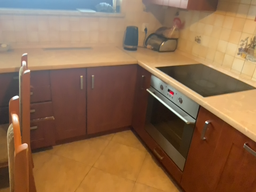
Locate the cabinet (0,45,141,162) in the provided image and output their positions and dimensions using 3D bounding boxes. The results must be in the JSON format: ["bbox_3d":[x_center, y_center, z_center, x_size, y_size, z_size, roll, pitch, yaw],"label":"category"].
[{"bbox_3d":[-0.840,0.030,2.010,1.790,0.860,0.530,-7,29,-25],"label":"cabinet"}]
